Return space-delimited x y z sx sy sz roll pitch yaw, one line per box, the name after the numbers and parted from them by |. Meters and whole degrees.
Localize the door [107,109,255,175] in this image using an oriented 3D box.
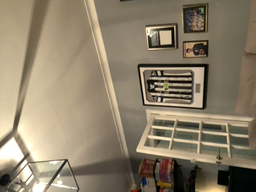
0.940 0.550 2.820 0.880 2.270 0.100 -58 -34 -53 | door
